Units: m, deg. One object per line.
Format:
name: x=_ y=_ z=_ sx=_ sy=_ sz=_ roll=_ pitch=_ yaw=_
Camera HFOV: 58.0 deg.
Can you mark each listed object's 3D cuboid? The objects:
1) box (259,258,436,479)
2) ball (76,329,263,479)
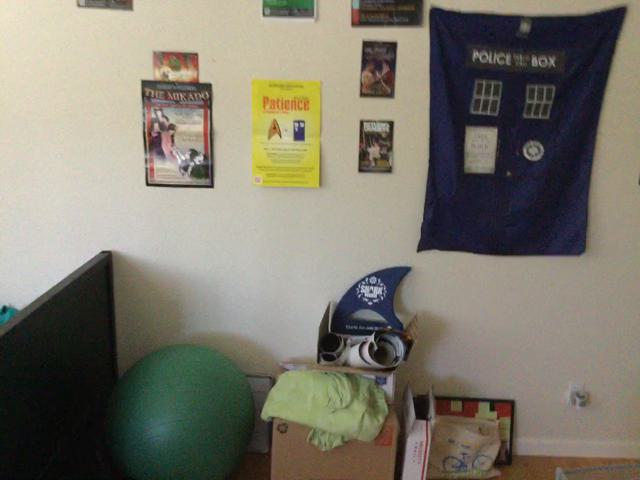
box: x=0.080 y=0.590 z=2.350 sx=0.590 sy=0.910 sz=0.530 roll=3 pitch=10 yaw=-1
ball: x=-0.560 y=0.730 z=2.300 sx=0.600 sy=0.580 sz=0.510 roll=3 pitch=10 yaw=-1
